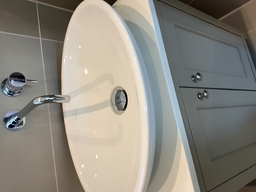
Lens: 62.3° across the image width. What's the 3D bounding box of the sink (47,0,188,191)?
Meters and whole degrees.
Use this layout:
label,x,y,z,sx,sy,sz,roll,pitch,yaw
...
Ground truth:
label,x,y,z,sx,sy,sz,roll,pitch,yaw
sink,-0.080,0.010,0.600,0.380,0.100,0.590,-23,73,46
